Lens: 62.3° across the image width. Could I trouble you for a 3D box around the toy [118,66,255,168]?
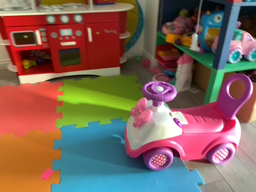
[{"bbox_3d":[0.230,0.090,0.950,0.530,0.370,0.210,-3,32,-7],"label":"toy"}]
